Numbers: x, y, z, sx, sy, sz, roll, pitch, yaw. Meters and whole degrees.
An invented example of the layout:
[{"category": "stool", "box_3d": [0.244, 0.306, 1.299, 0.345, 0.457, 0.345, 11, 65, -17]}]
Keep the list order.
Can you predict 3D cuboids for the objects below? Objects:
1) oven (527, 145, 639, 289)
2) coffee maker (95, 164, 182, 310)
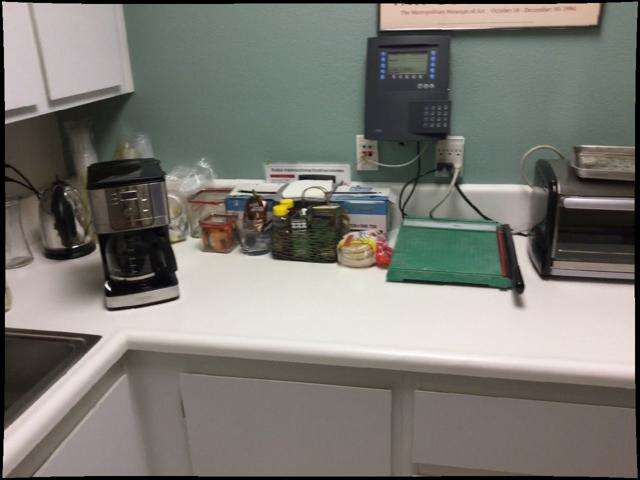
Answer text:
[{"category": "oven", "box_3d": [0.839, -0.070, 1.530, 0.480, 0.270, 0.360, 4, 22, 11]}, {"category": "coffee maker", "box_3d": [-0.440, -0.010, 1.430, 0.160, 0.320, 0.140, -5, 22, -12]}]
